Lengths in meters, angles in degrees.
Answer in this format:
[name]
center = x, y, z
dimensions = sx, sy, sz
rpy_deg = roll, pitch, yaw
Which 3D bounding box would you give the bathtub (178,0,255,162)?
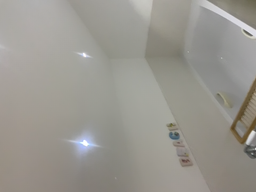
[bathtub]
center = 1.020, -0.220, 1.640
dimensions = 1.660, 0.560, 0.690
rpy_deg = -106, 17, -50
